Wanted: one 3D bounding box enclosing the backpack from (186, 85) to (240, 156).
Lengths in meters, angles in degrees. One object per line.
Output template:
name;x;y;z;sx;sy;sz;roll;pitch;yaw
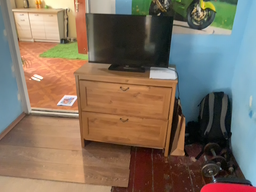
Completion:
backpack;0.810;0.240;2.110;0.320;0.570;0.360;5;27;5

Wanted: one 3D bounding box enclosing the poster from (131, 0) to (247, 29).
poster;0.520;-0.860;1.840;0.970;0.470;0.080;4;27;3

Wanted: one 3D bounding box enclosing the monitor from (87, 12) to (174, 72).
monitor;0.000;-0.460;1.820;0.710;0.440;0.040;7;27;7
